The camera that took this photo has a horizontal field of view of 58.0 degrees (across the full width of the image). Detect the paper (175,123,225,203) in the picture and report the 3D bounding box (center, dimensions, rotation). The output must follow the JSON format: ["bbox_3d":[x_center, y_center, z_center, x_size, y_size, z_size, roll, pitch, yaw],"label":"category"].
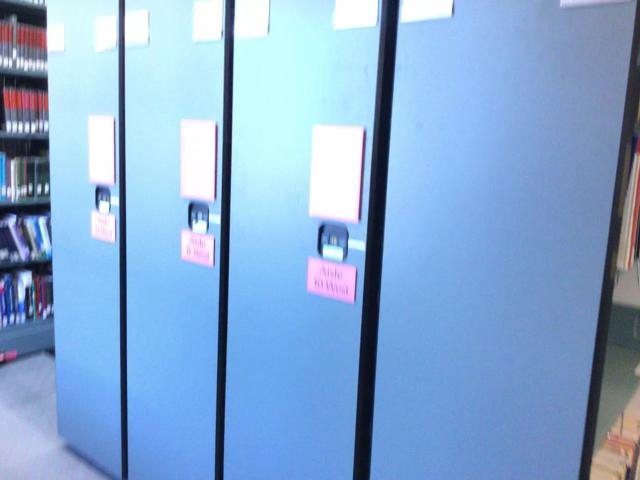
[{"bbox_3d":[-0.380,-0.240,1.820,0.200,0.240,0.030,5,6,36],"label":"paper"}]

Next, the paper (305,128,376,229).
[{"bbox_3d":[0.050,-0.160,1.510,0.200,0.250,0.030,5,6,38],"label":"paper"}]
